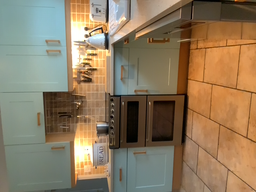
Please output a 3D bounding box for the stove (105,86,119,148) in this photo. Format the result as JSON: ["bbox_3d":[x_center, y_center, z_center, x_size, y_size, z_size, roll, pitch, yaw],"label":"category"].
[{"bbox_3d":[-0.210,0.220,2.570,0.580,0.100,0.600,-134,45,-75],"label":"stove"}]
